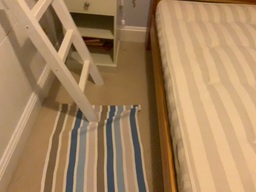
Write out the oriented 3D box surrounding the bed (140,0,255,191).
[{"bbox_3d":[0.660,0.020,1.370,1.040,0.510,2.130,3,46,-3],"label":"bed"}]
